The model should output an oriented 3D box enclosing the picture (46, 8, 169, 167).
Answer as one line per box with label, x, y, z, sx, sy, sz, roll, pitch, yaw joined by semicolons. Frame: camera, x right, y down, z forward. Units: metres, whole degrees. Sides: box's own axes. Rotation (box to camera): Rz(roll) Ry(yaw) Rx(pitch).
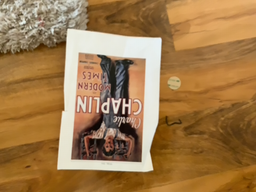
picture;-0.040;-0.020;0.470;0.250;0.050;0.330;1;85;-3
